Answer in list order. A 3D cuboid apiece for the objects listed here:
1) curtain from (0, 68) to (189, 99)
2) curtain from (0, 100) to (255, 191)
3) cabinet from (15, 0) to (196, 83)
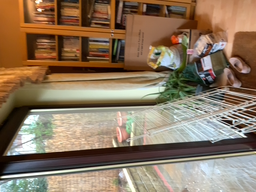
[{"bbox_3d":[-0.290,-0.150,2.330,0.310,1.950,0.240,-136,46,-69],"label":"curtain"},{"bbox_3d":[0.040,0.330,1.560,1.820,1.970,0.100,-137,48,-70],"label":"curtain"},{"bbox_3d":[-0.170,-1.540,2.410,0.350,2.020,2.750,-137,47,-70],"label":"cabinet"}]
